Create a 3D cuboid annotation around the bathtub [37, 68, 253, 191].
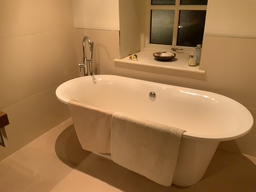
[{"bbox_3d":[0.130,0.250,2.020,1.740,0.620,0.830,12,27,26],"label":"bathtub"}]
